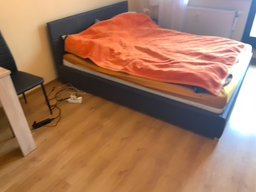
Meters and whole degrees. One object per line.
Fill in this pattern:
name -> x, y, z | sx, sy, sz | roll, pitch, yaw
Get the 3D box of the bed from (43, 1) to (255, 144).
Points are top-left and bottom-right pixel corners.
bed -> 0.360, -0.620, 2.830 | 2.140, 0.770, 1.750 | 22, 39, 30
